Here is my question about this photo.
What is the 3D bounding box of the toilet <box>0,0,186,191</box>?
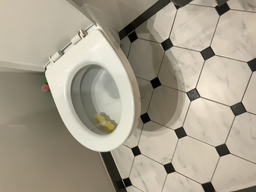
[{"bbox_3d":[-0.180,-0.040,0.780,0.380,0.860,0.520,-32,79,26],"label":"toilet"}]
